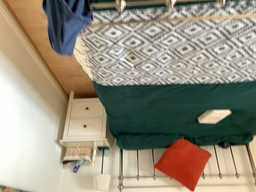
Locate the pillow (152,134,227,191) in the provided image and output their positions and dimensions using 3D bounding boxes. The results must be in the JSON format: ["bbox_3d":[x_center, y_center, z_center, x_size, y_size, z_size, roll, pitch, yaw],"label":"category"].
[{"bbox_3d":[0.650,0.750,2.350,0.640,0.460,0.230,-13,152,-6],"label":"pillow"}]

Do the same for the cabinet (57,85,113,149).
[{"bbox_3d":[-0.490,0.270,2.640,0.550,0.660,0.420,-3,151,3],"label":"cabinet"}]
